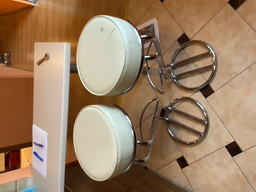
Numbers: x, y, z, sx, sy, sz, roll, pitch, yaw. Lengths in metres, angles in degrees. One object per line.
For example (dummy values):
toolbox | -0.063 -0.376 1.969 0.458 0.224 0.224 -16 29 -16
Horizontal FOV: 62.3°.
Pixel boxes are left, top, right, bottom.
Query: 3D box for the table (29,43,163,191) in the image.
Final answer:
table | -0.210 0.120 1.580 0.430 0.850 0.910 13 103 43

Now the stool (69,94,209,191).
stool | 0.120 0.200 1.270 0.340 0.850 0.340 12 102 43
